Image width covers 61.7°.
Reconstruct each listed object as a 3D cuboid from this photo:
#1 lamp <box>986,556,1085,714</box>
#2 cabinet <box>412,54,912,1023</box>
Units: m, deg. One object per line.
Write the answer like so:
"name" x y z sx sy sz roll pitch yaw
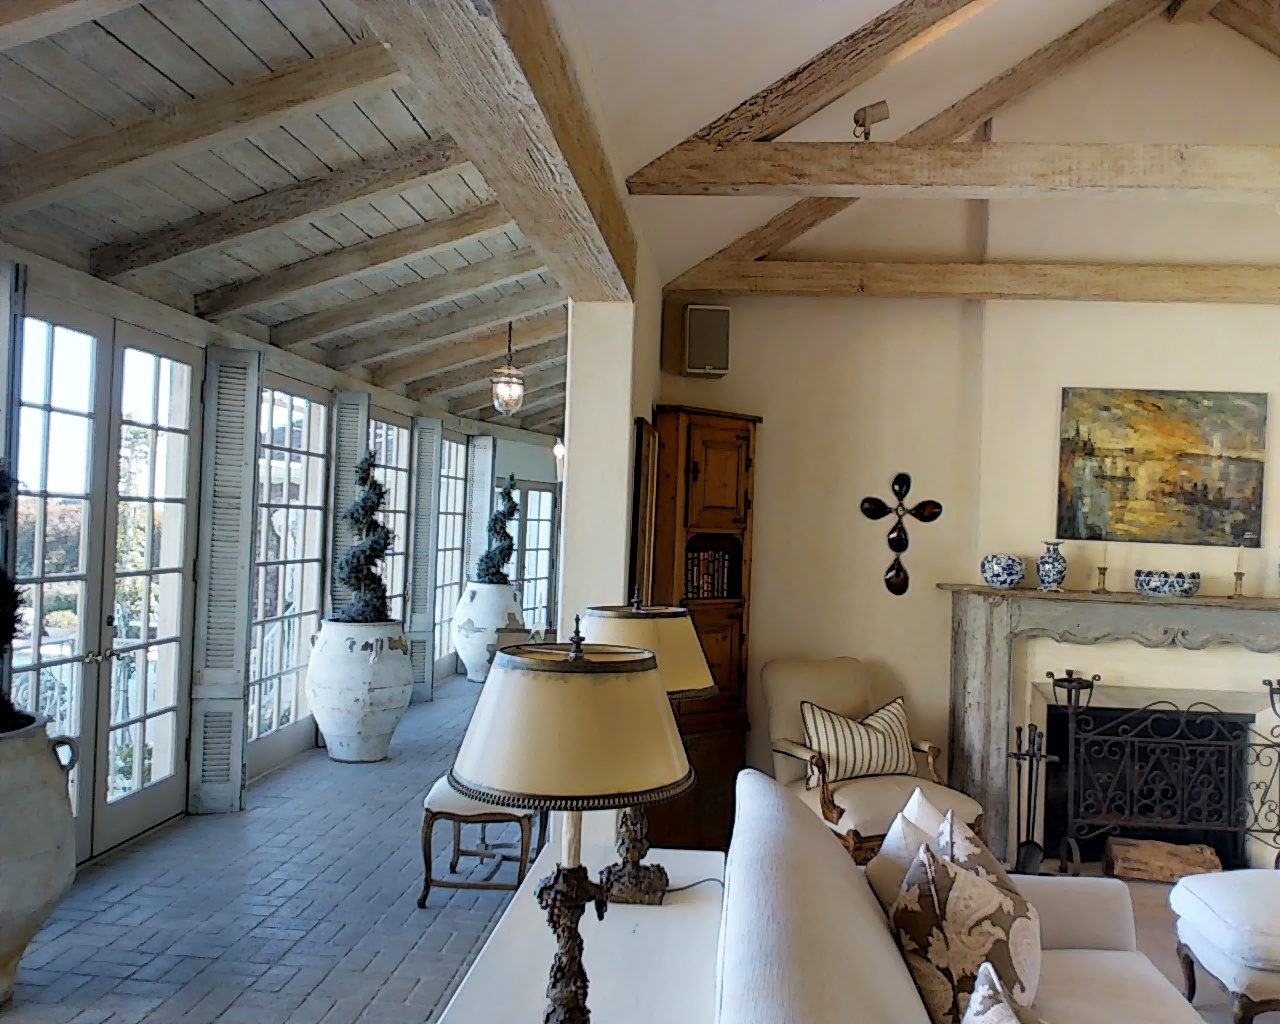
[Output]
"lamp" 1.929 0.580 5.220 0.360 0.710 0.360 2 -1 33
"cabinet" 0.040 0.410 1.860 0.790 2.181 0.210 3 -1 -22
